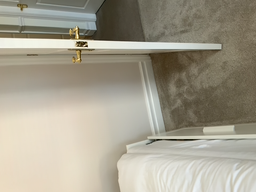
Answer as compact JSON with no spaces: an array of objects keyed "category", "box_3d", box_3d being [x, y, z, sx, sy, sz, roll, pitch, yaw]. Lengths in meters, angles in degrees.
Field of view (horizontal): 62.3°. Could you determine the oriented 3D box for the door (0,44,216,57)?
[{"category":"door","box_3d":[-0.460,-0.260,1.240,0.720,2.100,0.030,13,108,56]}]
